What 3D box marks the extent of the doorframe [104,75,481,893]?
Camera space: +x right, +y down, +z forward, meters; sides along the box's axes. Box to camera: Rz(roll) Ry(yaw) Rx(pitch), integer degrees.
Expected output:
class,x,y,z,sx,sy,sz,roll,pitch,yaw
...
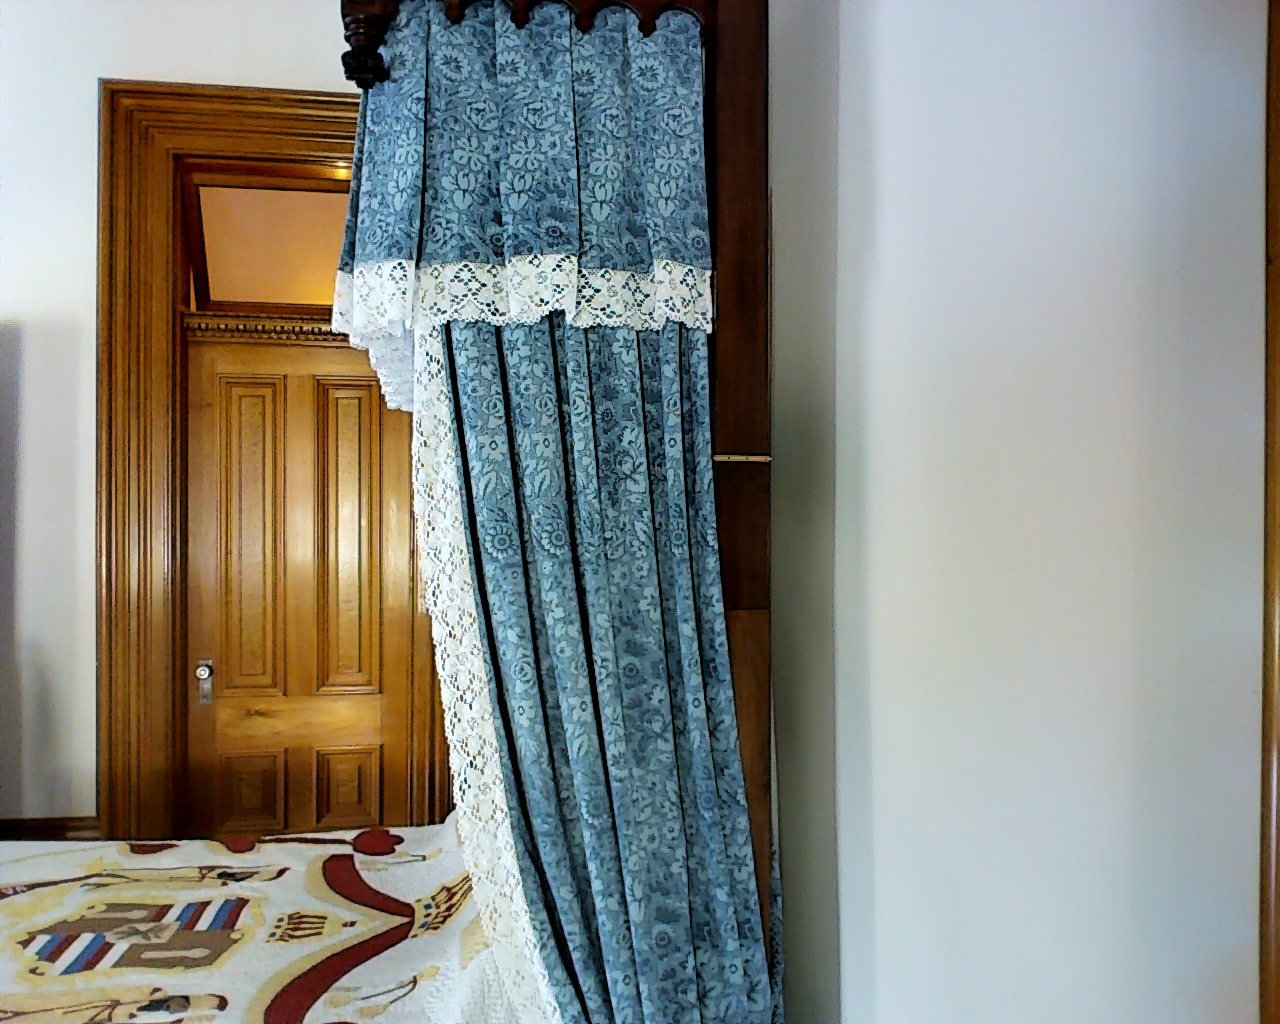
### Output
class,x,y,z,sx,sy,sz,roll,pitch,yaw
doorframe,-1.380,-0.100,4.400,1.410,3.160,0.280,1,0,-9
